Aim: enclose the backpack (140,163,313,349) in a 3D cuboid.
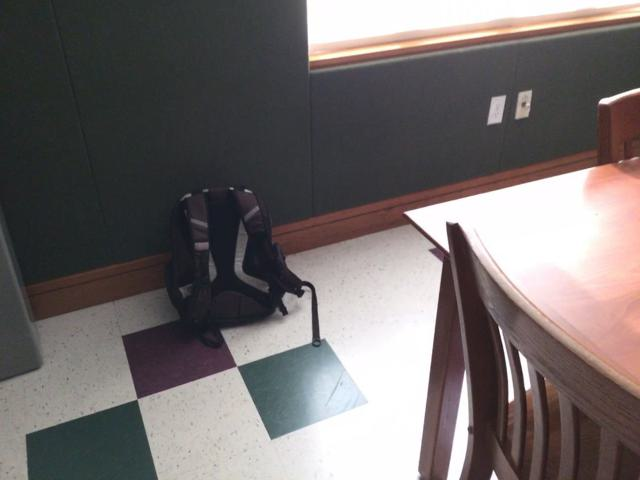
[{"bbox_3d":[-0.310,0.040,1.980,0.460,0.420,0.340,-16,35,-20],"label":"backpack"}]
